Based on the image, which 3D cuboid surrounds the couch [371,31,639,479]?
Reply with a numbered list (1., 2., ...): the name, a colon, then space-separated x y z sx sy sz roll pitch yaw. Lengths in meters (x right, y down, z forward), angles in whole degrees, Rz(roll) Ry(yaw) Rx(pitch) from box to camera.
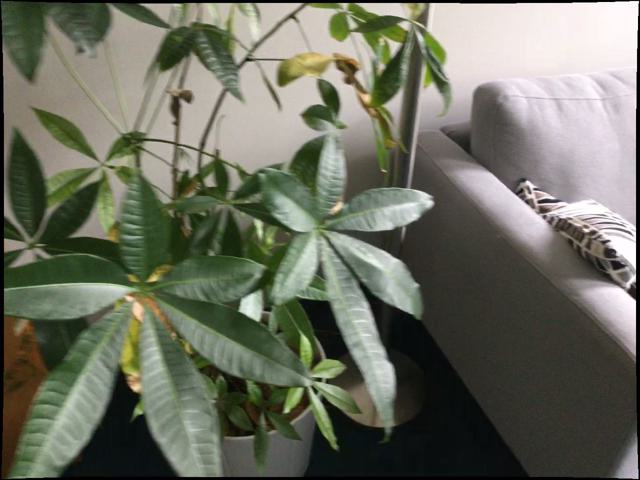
1. couch: 0.788 0.050 1.430 1.028 0.771 0.921 -10 41 -12
